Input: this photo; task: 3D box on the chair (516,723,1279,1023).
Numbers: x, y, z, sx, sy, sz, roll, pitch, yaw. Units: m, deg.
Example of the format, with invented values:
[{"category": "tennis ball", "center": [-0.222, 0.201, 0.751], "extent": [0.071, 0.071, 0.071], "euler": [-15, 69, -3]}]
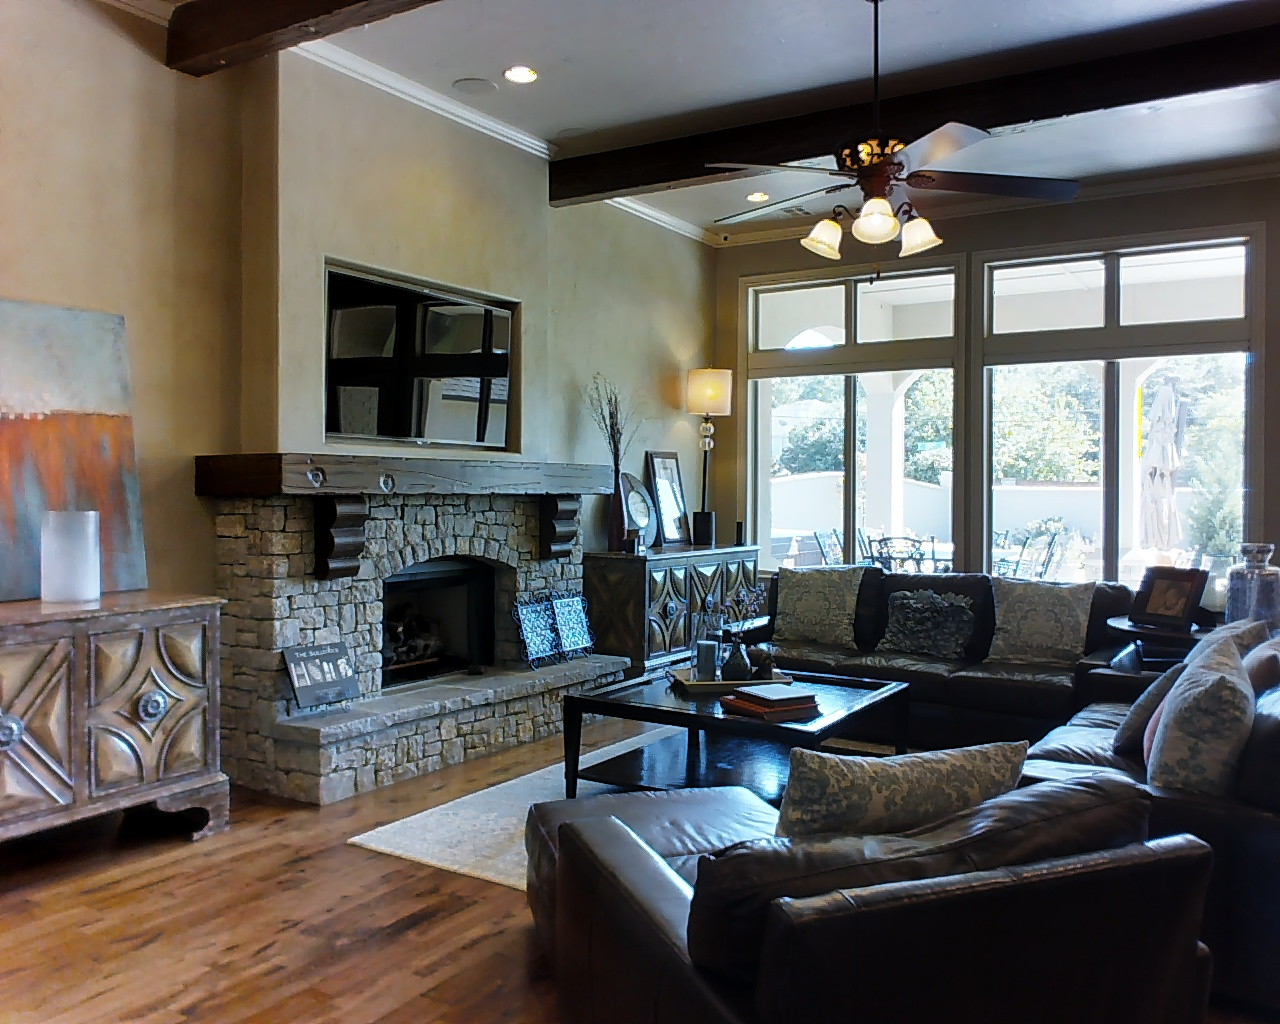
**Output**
[{"category": "chair", "center": [0.450, 1.030, 2.410], "extent": [1.140, 0.780, 1.300], "euler": [0, 0, -22]}]
